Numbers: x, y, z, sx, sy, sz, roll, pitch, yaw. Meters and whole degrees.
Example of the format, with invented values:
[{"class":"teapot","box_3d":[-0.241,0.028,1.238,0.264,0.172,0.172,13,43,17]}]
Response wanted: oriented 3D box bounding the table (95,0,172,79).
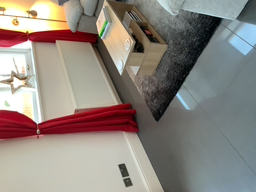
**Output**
[{"class":"table","box_3d":[0.000,-0.670,2.400,0.940,0.430,0.430,63,142,37]}]
